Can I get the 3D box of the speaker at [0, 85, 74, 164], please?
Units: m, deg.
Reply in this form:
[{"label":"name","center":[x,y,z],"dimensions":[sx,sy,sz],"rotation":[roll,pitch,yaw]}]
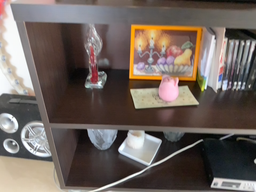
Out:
[{"label":"speaker","center":[-0.450,0.130,1.000],"dimensions":[0.300,0.260,0.230],"rotation":[4,36,3]}]
